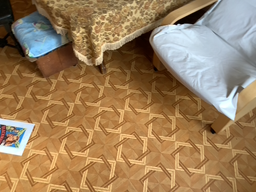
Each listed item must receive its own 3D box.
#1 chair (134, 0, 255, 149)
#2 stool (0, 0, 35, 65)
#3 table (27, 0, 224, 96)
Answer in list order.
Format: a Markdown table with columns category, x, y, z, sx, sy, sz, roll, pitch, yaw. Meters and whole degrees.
| category | x | y | z | sx | sy | sz | roll | pitch | yaw |
| --- | --- | --- | --- | --- | --- | --- | --- | --- | --- |
| chair | 0.650 | -0.390 | 1.230 | 0.930 | 0.930 | 0.730 | -28 | 63 | -18 |
| stool | -0.970 | -0.490 | 1.540 | 0.380 | 0.410 | 0.310 | -19 | 61 | -14 |
| table | 0.030 | -0.760 | 1.640 | 1.350 | 0.600 | 0.770 | -32 | 64 | -20 |
